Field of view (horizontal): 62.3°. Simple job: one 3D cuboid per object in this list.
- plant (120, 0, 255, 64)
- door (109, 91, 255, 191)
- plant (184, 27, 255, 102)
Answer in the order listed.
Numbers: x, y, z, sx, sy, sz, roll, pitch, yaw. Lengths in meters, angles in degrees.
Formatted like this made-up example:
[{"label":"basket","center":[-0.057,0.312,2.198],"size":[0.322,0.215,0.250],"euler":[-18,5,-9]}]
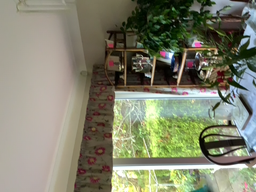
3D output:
[{"label":"plant","center":[0.780,-0.820,2.470],"size":[0.620,1.740,0.640],"euler":[-92,3,-47]},{"label":"door","center":[0.720,0.730,2.430],"size":[0.120,1.840,2.140],"euler":[92,177,-46]},{"label":"plant","center":[0.700,-0.230,1.470],"size":[0.460,0.460,0.320],"euler":[-93,3,-50]}]
